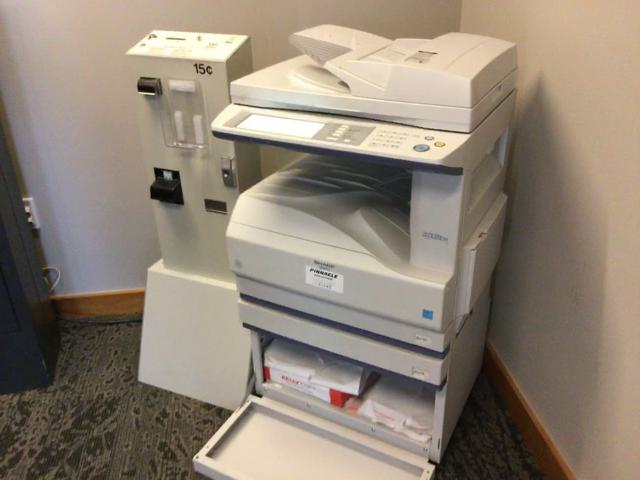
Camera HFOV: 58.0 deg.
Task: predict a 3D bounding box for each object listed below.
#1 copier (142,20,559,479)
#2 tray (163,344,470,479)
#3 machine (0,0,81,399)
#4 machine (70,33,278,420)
[{"bbox_3d":[0.110,0.030,1.540,0.730,1.070,0.680,13,28,23],"label":"copier"},{"bbox_3d":[0.010,0.570,1.630,0.660,0.070,0.570,15,29,27],"label":"tray"},{"bbox_3d":[-1.040,-0.230,1.670,0.350,1.430,0.390,-3,26,-7],"label":"machine"},{"bbox_3d":[-0.380,-0.030,1.720,0.380,1.060,0.330,10,27,19],"label":"machine"}]
